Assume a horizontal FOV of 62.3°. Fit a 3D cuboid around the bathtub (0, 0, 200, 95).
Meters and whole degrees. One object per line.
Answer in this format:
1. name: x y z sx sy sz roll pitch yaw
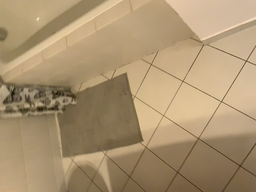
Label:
1. bathtub: -0.360 -0.610 1.450 1.360 0.550 0.850 -18 79 30
